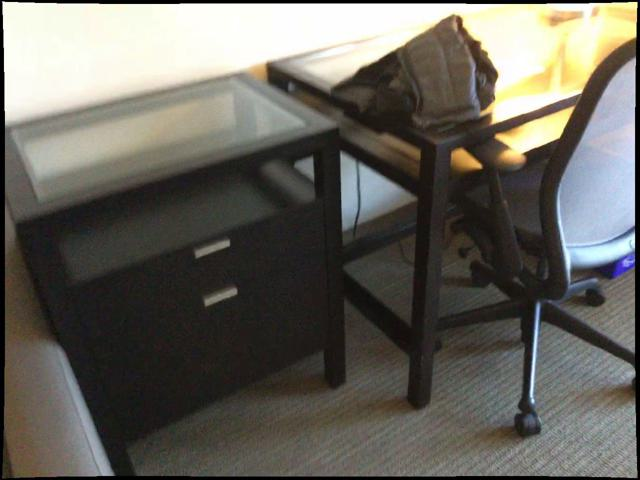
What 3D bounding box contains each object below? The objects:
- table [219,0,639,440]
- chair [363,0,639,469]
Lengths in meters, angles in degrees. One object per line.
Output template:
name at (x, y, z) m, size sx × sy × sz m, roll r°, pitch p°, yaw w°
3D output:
table at (0.569, -0.251, 1.930) m, size 1.478 × 0.841 × 0.810 m, roll -24°, pitch 40°, yaw -26°
chair at (0.608, -0.120, 1.560) m, size 0.709 × 1.042 × 0.670 m, roll -24°, pitch 40°, yaw -26°
